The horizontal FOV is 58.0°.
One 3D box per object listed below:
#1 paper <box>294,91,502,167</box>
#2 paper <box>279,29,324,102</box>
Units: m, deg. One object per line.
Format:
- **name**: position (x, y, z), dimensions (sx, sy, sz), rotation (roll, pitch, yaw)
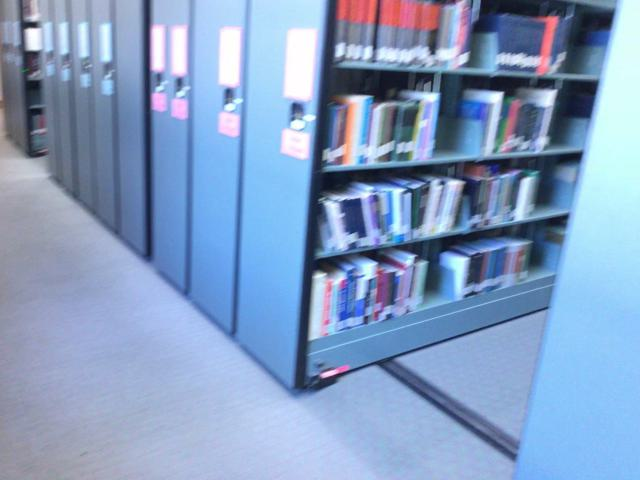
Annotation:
- **paper**: position (0.360, -0.460, 2.460), dimensions (0.960, 0.260, 0.220), rotation (-6, 18, -35)
- **paper**: position (-0.070, -0.630, 2.090), dimensions (0.040, 0.240, 0.200), rotation (-6, 18, -35)
